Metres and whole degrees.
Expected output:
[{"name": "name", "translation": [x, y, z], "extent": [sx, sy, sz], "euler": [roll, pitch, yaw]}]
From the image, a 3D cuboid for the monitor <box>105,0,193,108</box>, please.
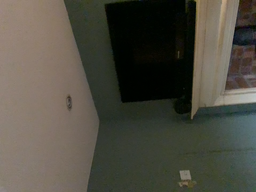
[{"name": "monitor", "translation": [0.220, -0.330, 1.950], "extent": [0.040, 0.680, 1.040], "euler": [-88, -9, -53]}]
